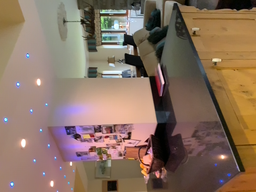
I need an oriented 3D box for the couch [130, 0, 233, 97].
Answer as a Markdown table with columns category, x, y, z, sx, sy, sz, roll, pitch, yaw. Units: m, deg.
| category | x | y | z | sx | sy | sz | roll | pitch | yaw |
| --- | --- | --- | --- | --- | --- | --- | --- | --- | --- |
| couch | 0.640 | -1.150 | 3.850 | 2.620 | 0.900 | 1.120 | -100 | 11 | -58 |
